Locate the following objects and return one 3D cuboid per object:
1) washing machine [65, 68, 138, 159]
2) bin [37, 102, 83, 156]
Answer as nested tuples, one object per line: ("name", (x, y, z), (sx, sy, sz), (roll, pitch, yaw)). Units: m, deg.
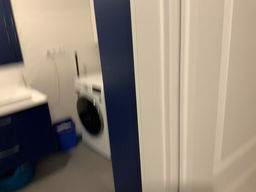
("washing machine", (-0.320, 0.160, 2.650), (0.540, 0.860, 0.660), (-20, 25, -36))
("bin", (-0.830, 0.390, 2.610), (0.360, 0.490, 0.300), (-22, 27, -39))
